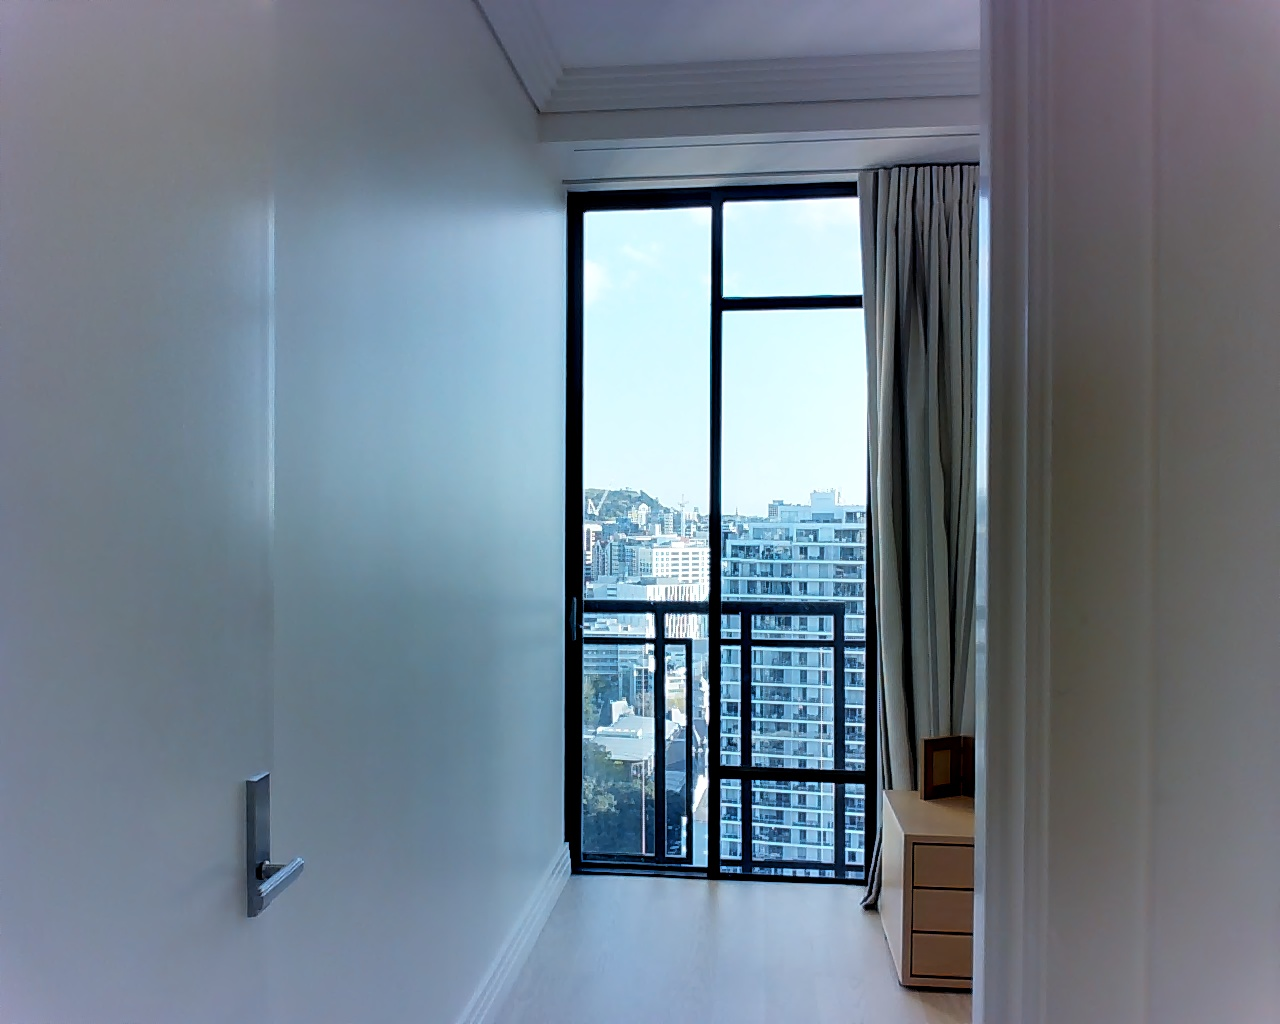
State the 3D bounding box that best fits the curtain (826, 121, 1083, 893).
[{"bbox_3d":[1.070,-0.020,3.760,0.560,2.521,0.380,6,2,7],"label":"curtain"}]
